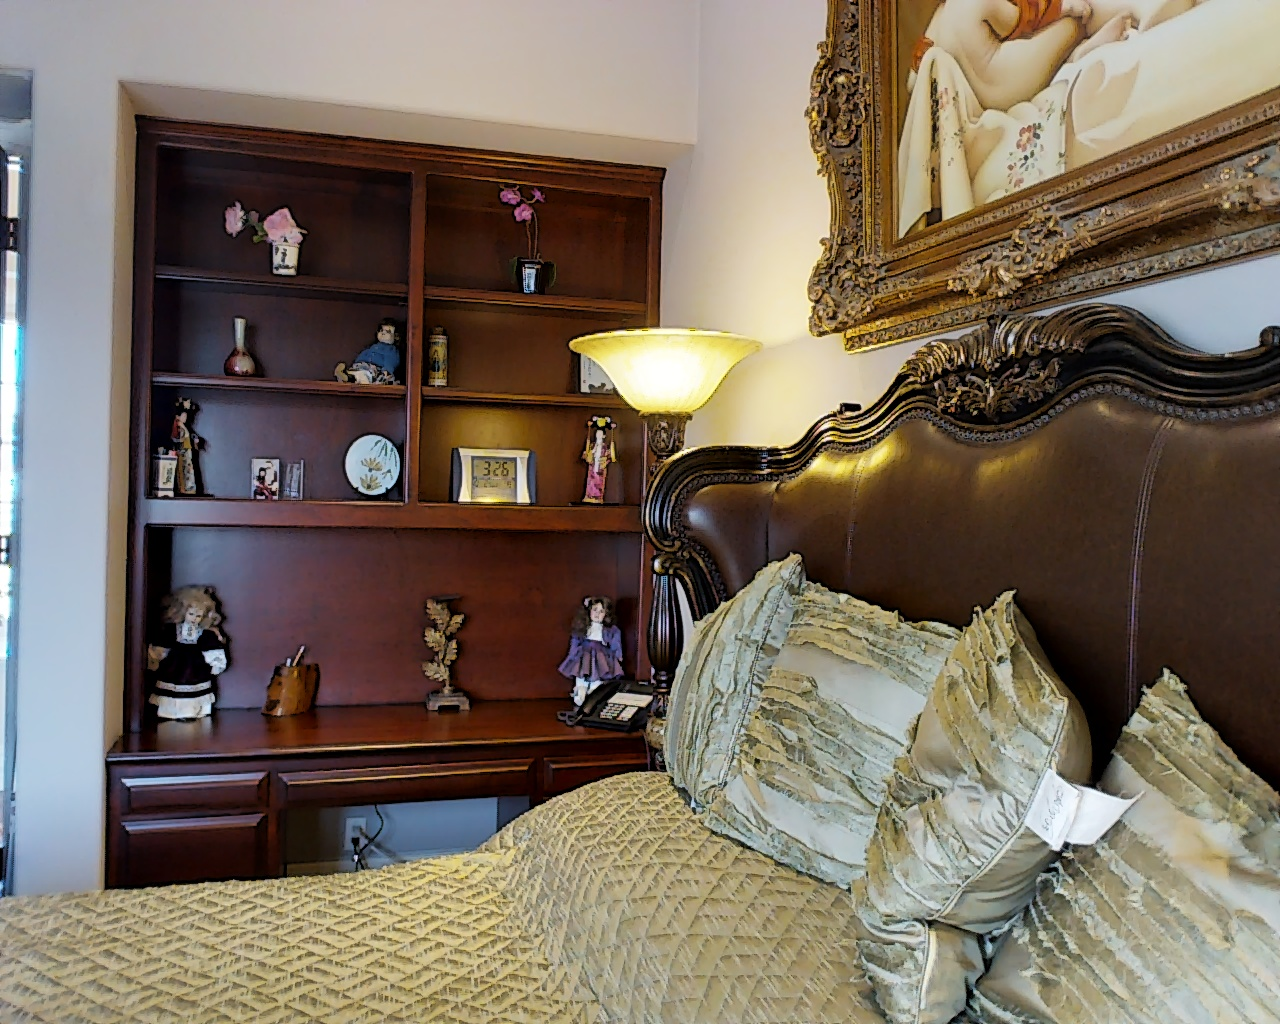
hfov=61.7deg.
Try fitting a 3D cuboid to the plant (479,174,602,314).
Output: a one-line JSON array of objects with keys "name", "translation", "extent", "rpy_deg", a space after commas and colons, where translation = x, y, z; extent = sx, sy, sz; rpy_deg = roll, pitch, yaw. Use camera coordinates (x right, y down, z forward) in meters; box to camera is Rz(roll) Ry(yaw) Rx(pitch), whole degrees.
[{"name": "plant", "translation": [-0.350, -0.910, 3.690], "extent": [0.360, 0.370, 0.330], "rpy_deg": [2, 0, -16]}]

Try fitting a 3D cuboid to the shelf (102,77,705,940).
[{"name": "shelf", "translation": [-0.710, 0.010, 3.390], "extent": [1.600, 2.270, 0.750], "rpy_deg": [2, 0, -16]}]

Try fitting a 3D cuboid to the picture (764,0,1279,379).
[{"name": "picture", "translation": [0.560, -0.810, 1.640], "extent": [0.210, 1.050, 1.350], "rpy_deg": [2, 0, -16]}]
